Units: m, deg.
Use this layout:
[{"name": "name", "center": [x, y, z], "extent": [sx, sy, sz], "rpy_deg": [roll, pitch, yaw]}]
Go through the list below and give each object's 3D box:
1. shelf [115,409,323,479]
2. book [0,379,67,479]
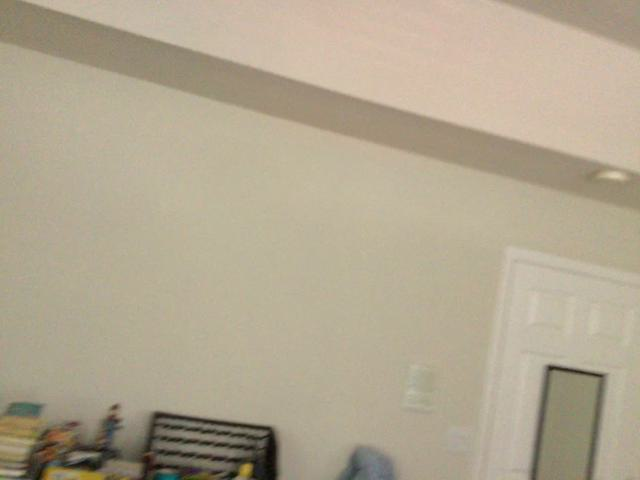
[{"name": "shelf", "center": [-0.480, 1.260, 2.200], "extent": [0.700, 1.040, 0.410], "rpy_deg": [14, -8, -17]}, {"name": "book", "center": [-1.040, 0.670, 1.990], "extent": [0.210, 0.270, 0.490], "rpy_deg": [14, -8, -17]}]
